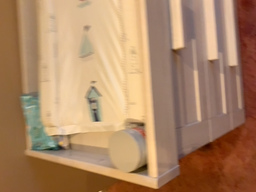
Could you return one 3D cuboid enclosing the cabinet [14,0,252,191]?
[{"bbox_3d":[0.110,-0.260,0.960,0.570,0.940,0.910,-6,88,39],"label":"cabinet"}]
